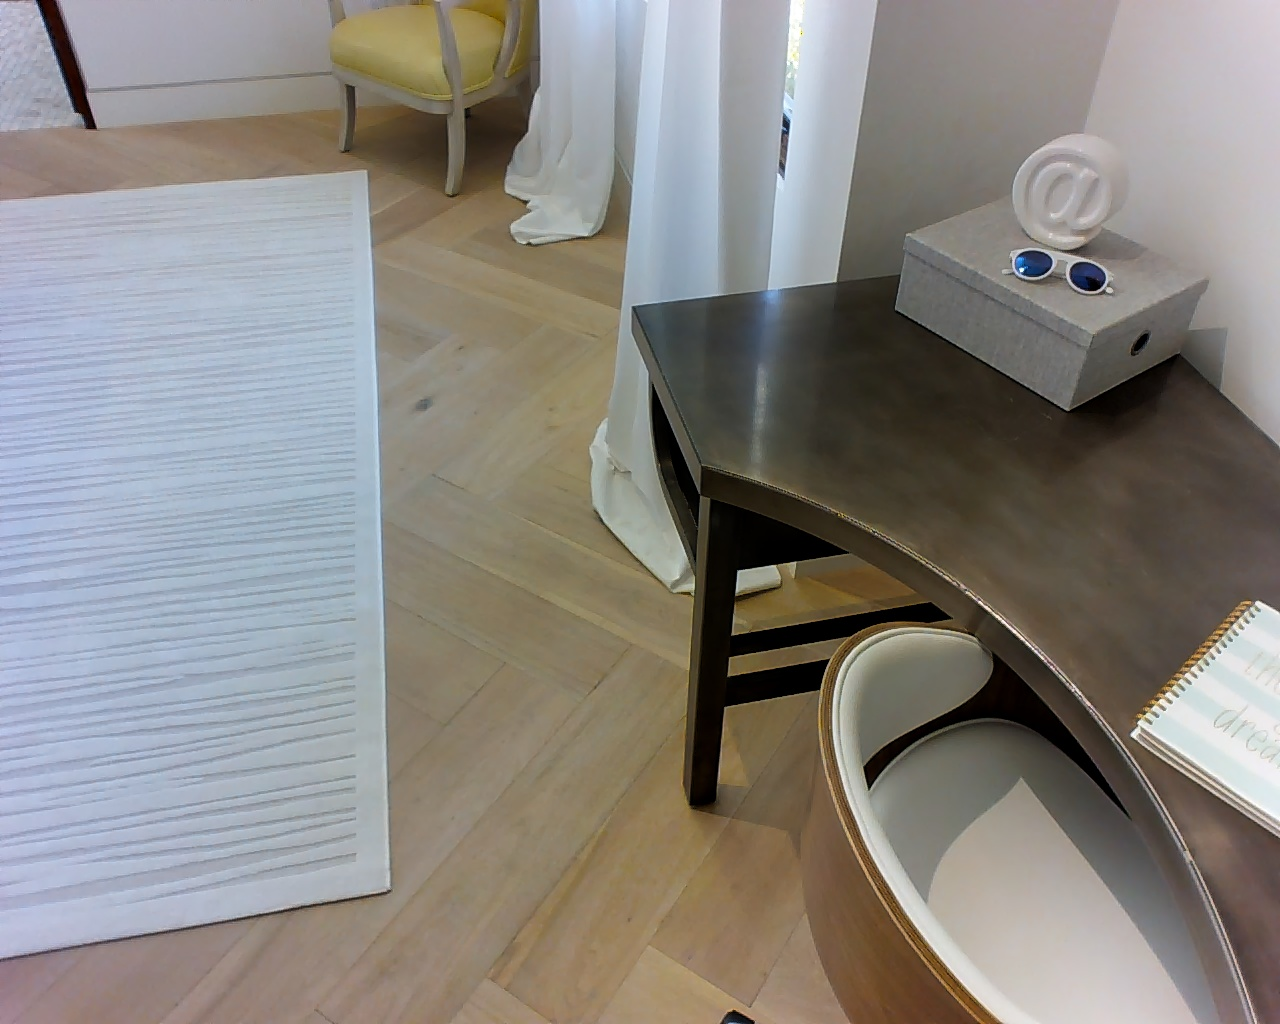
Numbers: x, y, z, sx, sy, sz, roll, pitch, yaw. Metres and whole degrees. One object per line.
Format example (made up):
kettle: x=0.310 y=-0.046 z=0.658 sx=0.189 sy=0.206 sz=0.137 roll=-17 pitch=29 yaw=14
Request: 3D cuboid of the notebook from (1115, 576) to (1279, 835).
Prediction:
notebook: x=0.650 y=0.200 z=1.050 sx=0.270 sy=0.030 sz=0.240 roll=-31 pitch=50 yaw=-30

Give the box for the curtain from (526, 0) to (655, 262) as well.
curtain: x=-0.170 y=-2.150 z=2.910 sx=0.300 sy=2.910 sz=0.580 roll=-9 pitch=42 yaw=-10
